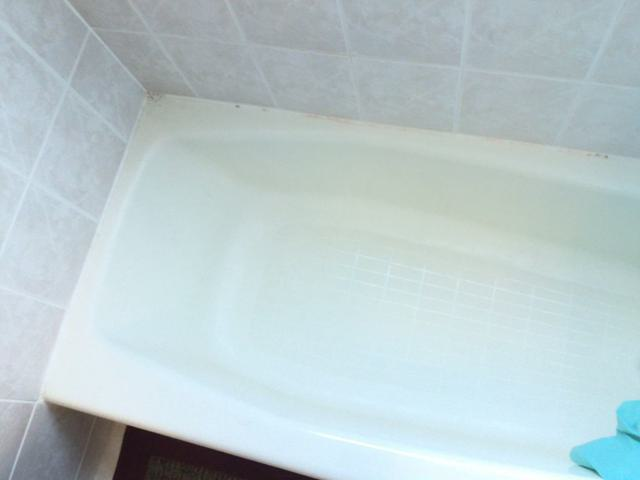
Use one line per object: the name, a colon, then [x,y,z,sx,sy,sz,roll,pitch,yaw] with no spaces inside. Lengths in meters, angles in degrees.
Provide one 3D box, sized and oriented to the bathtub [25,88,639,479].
bathtub: [0.220,0.180,1.270,1.450,0.780,0.360,10,-15,13]
